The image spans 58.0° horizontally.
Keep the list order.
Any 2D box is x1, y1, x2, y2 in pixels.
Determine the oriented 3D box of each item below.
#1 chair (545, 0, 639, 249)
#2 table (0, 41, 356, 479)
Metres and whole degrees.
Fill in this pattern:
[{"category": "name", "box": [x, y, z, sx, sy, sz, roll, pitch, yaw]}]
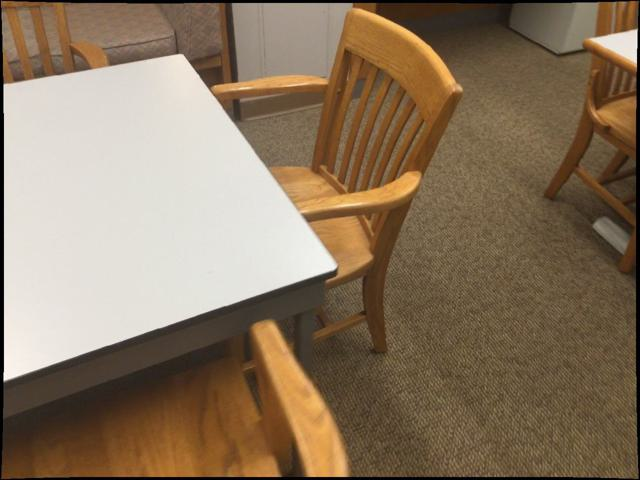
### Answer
[{"category": "chair", "box": [1.157, -0.461, 1.900, 0.439, 0.821, 0.530, -22, 41, -17]}, {"category": "table", "box": [-0.579, 0.170, 1.310, 0.978, 0.751, 0.880, -19, 46, -20]}]
